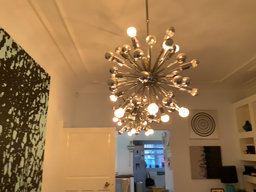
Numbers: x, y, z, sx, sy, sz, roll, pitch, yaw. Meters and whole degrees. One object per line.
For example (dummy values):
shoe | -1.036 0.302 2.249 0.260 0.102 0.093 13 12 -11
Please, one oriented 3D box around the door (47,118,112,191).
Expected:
door | -0.740 1.480 3.270 0.970 2.250 0.160 -1 -14 0
